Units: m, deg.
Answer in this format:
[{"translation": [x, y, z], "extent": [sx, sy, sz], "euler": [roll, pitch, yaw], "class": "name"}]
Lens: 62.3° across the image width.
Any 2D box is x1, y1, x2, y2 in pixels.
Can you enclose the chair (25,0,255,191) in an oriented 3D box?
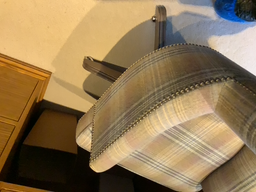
[{"translation": [0.200, 0.150, 0.760], "extent": [0.720, 0.960, 0.770], "euler": [34, 115, -26], "class": "chair"}]
